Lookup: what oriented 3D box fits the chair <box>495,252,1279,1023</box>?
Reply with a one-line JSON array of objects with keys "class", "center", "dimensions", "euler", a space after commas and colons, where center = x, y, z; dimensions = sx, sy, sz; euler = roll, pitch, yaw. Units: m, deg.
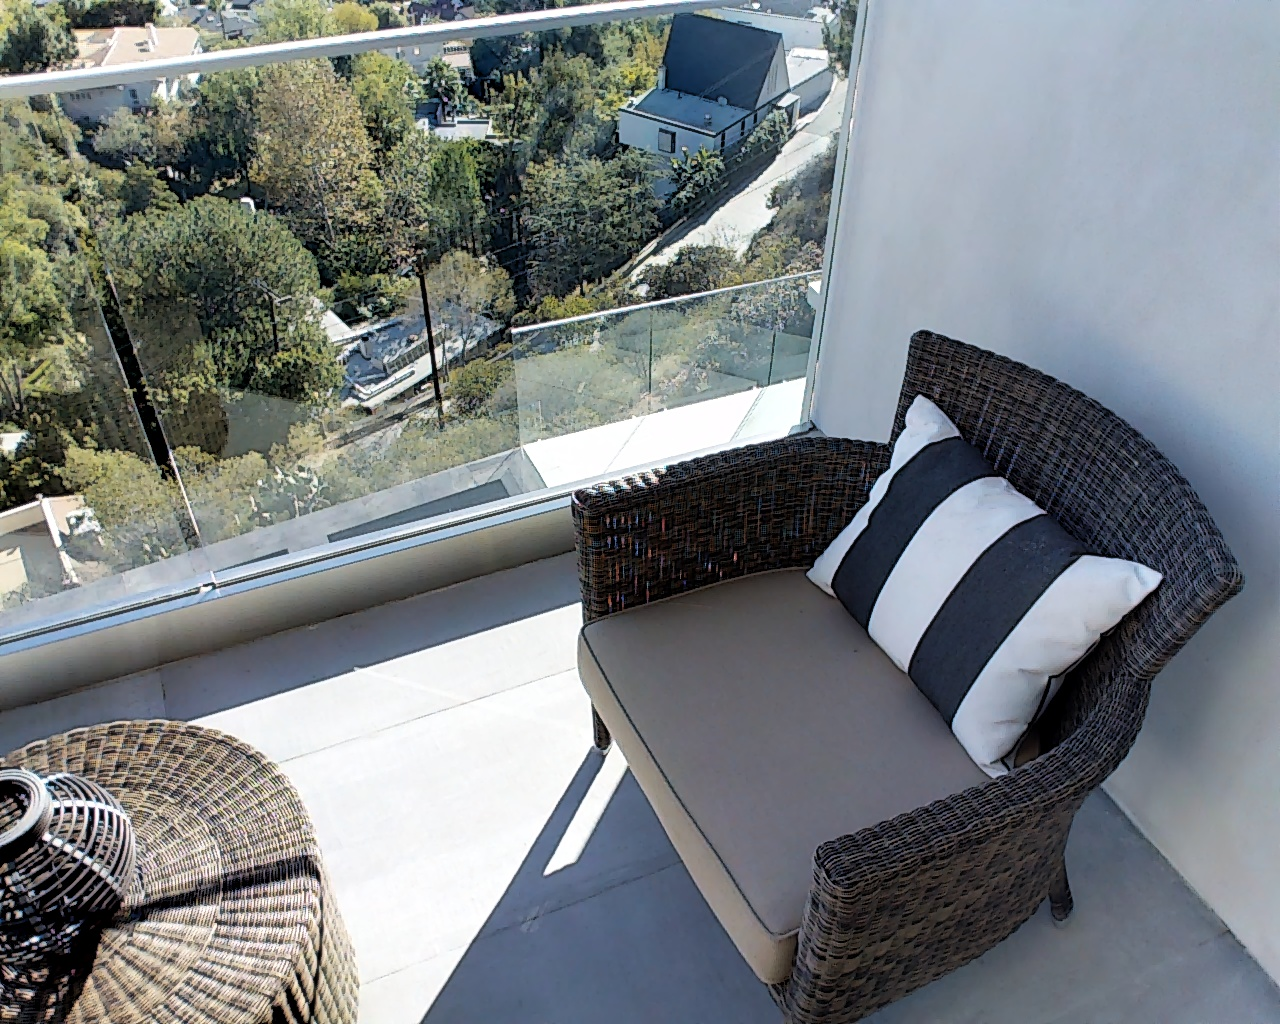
[{"class": "chair", "center": [0.330, 0.210, 1.610], "dimensions": [0.780, 0.710, 0.850], "euler": [-18, 45, -16]}]
